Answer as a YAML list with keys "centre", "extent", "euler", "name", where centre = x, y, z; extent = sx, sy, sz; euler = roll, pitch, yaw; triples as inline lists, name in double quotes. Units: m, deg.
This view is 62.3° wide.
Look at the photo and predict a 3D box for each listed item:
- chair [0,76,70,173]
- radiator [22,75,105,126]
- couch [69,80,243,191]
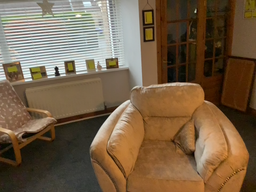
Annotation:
- centre: [-1.500, 0.300, 2.880]
  extent: [1.020, 0.920, 0.750]
  euler: [7, 22, 27]
  name: "chair"
- centre: [-1.050, 0.060, 3.620]
  extent: [1.250, 0.630, 0.160]
  euler: [-11, 21, -18]
  name: "radiator"
- centre: [0.270, 0.440, 2.090]
  extent: [1.190, 0.940, 1.040]
  euler: [0, 20, 12]
  name: "couch"
